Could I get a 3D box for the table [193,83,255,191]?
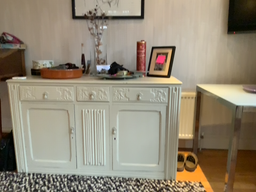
[{"bbox_3d":[1.170,0.320,1.820,0.940,0.720,0.940,1,13,3],"label":"table"}]
